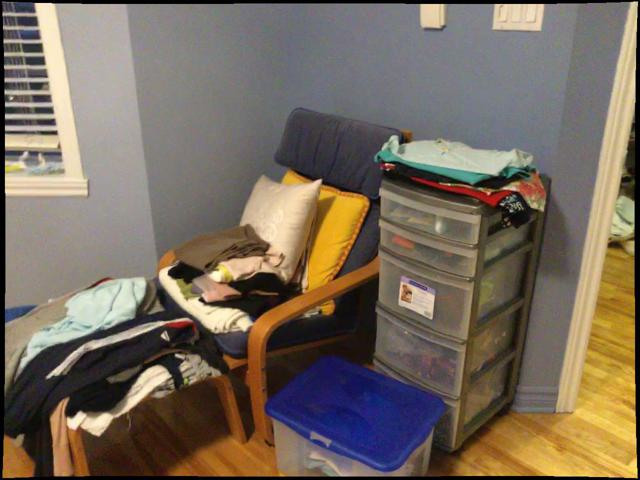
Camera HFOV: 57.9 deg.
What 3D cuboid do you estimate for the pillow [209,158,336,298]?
[{"bbox_3d":[-0.170,-0.060,2.080,0.240,0.360,0.400,-21,30,-36],"label":"pillow"}]

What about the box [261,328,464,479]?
[{"bbox_3d":[0.120,0.551,1.750,0.370,0.290,0.470,-21,30,-36],"label":"box"}]

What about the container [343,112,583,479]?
[{"bbox_3d":[0.420,0.140,1.850,0.450,0.961,0.500,-21,30,-36],"label":"container"}]
